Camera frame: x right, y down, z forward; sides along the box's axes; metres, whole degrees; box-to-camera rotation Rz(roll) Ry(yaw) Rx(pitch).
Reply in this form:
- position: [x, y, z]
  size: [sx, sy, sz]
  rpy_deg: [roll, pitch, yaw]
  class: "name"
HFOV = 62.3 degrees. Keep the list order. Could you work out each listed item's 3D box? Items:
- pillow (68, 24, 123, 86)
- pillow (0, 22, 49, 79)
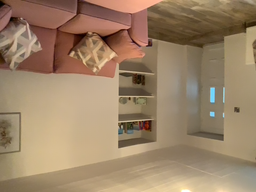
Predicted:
- position: [-0.450, -0.530, 2.830]
  size: [0.590, 0.200, 0.520]
  rpy_deg: [-48, -115, 22]
  class: "pillow"
- position: [-1.140, -0.520, 2.360]
  size: [0.180, 0.450, 0.500]
  rpy_deg: [-24, -150, 7]
  class: "pillow"
